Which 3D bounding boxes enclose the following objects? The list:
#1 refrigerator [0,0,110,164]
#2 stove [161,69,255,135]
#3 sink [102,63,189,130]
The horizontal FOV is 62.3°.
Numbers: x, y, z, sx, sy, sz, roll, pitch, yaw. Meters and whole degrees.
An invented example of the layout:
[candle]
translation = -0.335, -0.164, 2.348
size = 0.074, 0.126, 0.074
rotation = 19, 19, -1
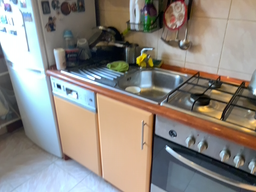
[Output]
[refrigerator]
translation = -0.650, -0.450, 1.840
size = 0.650, 1.880, 0.660
rotation = 20, 33, 32
[stove]
translation = 0.550, 0.010, 1.070
size = 0.580, 0.030, 0.520
rotation = 20, 33, 32
[sink]
translation = 0.120, -0.030, 1.370
size = 0.360, 0.190, 0.440
rotation = 20, 33, 32
